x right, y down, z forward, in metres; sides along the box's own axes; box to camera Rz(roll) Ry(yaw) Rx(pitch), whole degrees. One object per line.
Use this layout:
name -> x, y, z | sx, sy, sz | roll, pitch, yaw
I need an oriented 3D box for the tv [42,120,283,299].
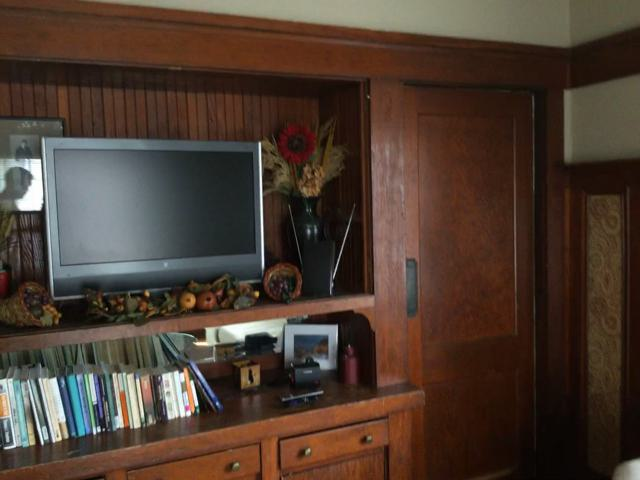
tv -> -0.580, -0.090, 2.200 | 0.840, 0.600, 0.180 | 2, 1, -25
